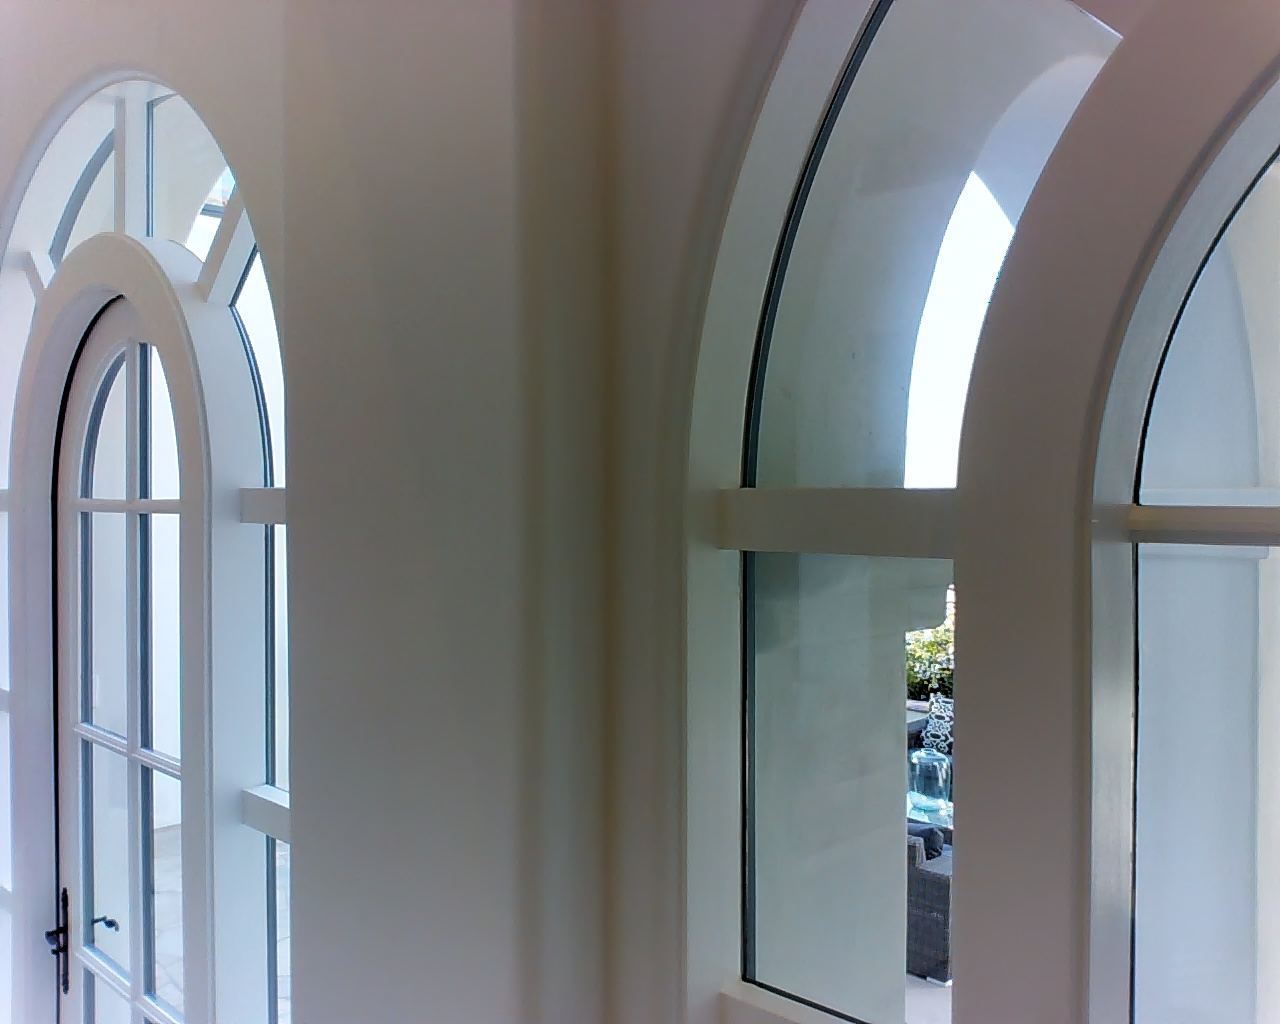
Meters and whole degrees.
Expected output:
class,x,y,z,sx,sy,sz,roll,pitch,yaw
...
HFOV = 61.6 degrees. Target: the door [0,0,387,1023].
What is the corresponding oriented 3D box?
class,x,y,z,sx,sy,sz,roll,pitch,yaw
door,-1.320,0.590,2.730,2.080,3.181,0.200,1,1,44
